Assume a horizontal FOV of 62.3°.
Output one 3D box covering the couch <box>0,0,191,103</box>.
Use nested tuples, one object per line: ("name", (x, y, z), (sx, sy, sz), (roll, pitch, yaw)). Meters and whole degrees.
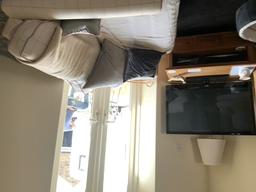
("couch", (-0.170, -0.510, 1.760), (1.110, 0.900, 1.350), (1, 168, 8))

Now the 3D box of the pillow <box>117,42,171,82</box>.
("pillow", (0.140, -0.300, 2.010), (0.380, 0.200, 0.360), (9, 166, -22))
